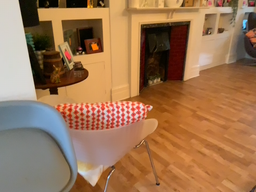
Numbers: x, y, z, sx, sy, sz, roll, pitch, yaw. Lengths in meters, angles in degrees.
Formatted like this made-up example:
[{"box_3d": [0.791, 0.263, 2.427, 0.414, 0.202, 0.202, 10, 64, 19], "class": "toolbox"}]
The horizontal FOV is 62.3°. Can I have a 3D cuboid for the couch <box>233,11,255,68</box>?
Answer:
[{"box_3d": [2.900, -1.200, 4.500, 0.900, 1.060, 0.780, 15, 28, 29], "class": "couch"}]

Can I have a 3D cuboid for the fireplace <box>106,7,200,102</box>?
[{"box_3d": [0.430, -0.720, 3.290, 1.540, 1.180, 0.360, -19, 30, -35], "class": "fireplace"}]

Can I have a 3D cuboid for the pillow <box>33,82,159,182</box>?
[{"box_3d": [-0.180, 0.220, 1.090, 0.520, 0.470, 0.200, 14, 47, -11], "class": "pillow"}]
